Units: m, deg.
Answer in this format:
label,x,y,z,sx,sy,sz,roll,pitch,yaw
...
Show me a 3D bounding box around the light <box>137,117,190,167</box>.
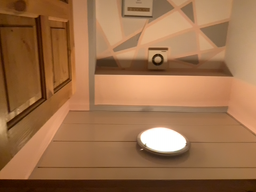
label,x,y,z,sx,sy,sz,roll,pitch,yaw
light,0.190,0.250,1.210,0.240,0.270,0.080,24,105,-9
